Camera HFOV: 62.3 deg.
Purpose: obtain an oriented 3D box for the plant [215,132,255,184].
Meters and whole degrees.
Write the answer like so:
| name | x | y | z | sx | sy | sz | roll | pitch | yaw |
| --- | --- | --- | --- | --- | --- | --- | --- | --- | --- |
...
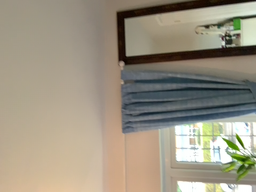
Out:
| name | x | y | z | sx | sy | sz | roll | pitch | yaw |
| --- | --- | --- | --- | --- | --- | --- | --- | --- | --- |
| plant | 0.910 | 0.450 | 1.570 | 0.200 | 0.450 | 0.330 | 13 | -105 | -77 |
